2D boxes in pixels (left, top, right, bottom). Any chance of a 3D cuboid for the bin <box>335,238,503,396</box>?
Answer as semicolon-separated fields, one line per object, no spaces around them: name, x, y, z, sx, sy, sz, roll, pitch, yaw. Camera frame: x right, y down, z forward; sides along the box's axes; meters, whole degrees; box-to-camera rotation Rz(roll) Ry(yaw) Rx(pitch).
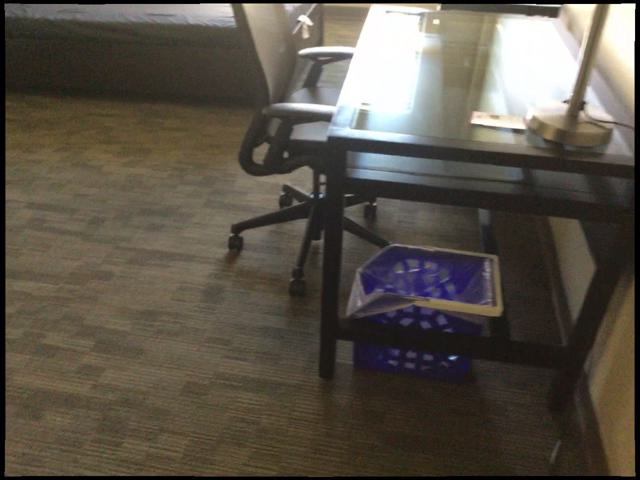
bin;0.289;0.230;1.760;0.449;0.350;0.240;6;36;10
